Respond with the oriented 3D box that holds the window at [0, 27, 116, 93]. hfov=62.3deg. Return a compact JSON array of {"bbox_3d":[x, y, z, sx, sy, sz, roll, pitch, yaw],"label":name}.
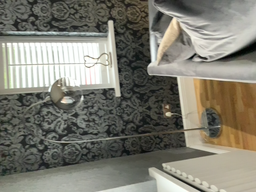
[{"bbox_3d":[-0.730,-0.380,2.170,0.060,1.170,0.630,158,107,-71],"label":"window"}]
